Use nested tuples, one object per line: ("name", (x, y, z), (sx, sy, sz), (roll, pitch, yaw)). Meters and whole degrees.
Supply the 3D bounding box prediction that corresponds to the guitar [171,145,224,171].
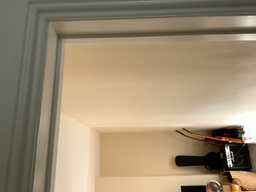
("guitar", (1.220, 1.100, 3.790), (0.290, 0.800, 0.360), (85, 180, -78))
